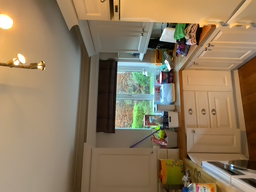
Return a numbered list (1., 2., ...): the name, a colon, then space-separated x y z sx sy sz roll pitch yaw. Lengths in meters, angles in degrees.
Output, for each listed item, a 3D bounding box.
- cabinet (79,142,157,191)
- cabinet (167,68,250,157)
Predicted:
1. cabinet: -0.130 1.050 3.010 0.420 1.010 0.740 102 169 -75
2. cabinet: 1.120 0.270 3.170 0.610 0.910 1.210 102 169 -75
